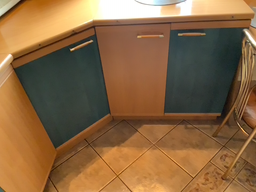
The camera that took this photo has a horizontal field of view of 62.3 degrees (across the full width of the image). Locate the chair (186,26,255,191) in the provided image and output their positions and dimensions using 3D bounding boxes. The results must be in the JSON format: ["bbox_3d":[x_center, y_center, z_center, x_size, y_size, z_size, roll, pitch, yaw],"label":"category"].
[{"bbox_3d":[0.620,0.120,1.120,0.460,0.820,0.440,0,43,5],"label":"chair"}]
